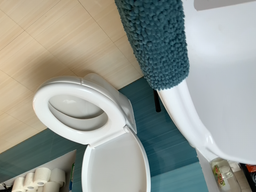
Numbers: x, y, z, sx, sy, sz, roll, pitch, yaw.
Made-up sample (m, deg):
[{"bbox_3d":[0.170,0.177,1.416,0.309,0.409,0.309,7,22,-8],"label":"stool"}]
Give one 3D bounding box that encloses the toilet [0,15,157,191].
[{"bbox_3d":[-0.200,0.130,0.960,0.370,0.810,0.520,-27,133,22],"label":"toilet"}]
